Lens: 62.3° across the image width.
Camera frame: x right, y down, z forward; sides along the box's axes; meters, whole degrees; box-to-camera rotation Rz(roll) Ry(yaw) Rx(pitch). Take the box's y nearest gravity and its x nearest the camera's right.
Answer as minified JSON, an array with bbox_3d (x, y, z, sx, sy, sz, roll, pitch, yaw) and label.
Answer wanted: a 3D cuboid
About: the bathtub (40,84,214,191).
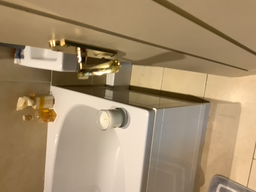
[{"bbox_3d":[-0.090,0.800,1.310,0.750,0.590,1.650,13,100,41],"label":"bathtub"}]
